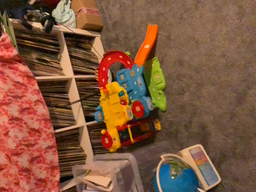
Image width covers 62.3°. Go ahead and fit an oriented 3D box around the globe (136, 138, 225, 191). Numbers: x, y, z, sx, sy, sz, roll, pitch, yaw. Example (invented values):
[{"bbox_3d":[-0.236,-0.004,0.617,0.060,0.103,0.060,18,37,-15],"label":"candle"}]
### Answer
[{"bbox_3d":[0.340,0.480,1.290,0.250,0.500,0.290,-18,86,43],"label":"globe"}]
